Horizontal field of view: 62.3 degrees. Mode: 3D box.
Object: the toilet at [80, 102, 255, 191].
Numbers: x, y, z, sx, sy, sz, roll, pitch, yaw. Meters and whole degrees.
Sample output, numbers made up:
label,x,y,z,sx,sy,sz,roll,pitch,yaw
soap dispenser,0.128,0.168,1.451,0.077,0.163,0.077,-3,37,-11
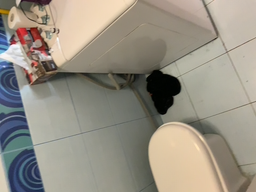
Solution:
label,x,y,z,sx,sy,sz,roll,pitch,yaw
toilet,0.290,0.450,1.100,0.370,0.840,0.670,-26,78,39
